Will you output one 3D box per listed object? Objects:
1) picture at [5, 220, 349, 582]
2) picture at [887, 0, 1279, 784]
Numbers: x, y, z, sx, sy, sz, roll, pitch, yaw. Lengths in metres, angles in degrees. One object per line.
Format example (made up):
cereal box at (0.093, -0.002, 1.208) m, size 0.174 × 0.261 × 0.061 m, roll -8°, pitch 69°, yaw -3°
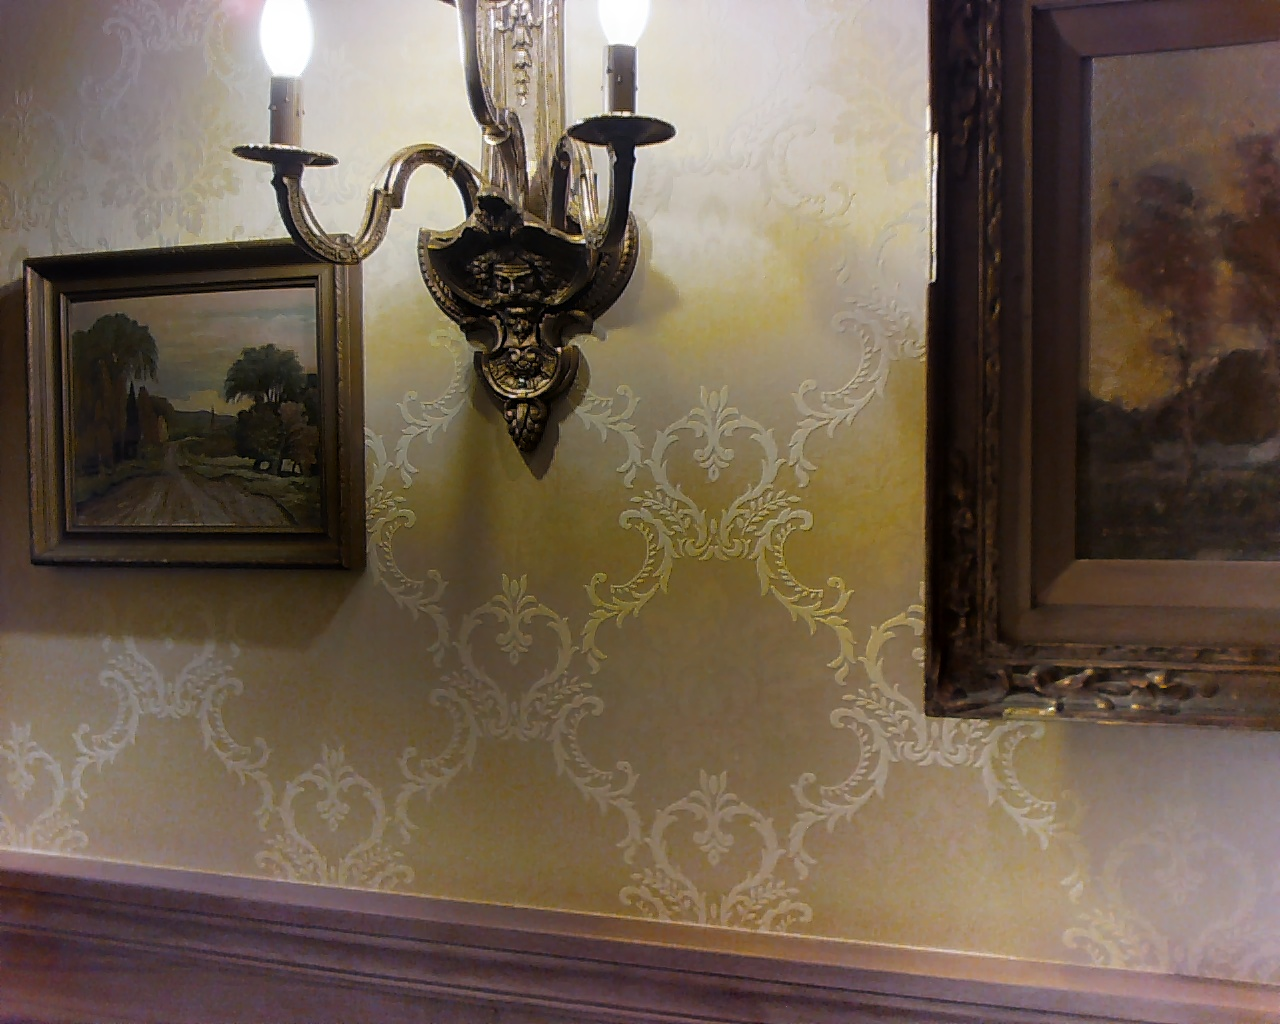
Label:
picture at (-0.440, -0.100, 1.010) m, size 0.350 × 0.320 × 0.030 m, roll 1°, pitch 0°, yaw 15°
picture at (0.570, -0.150, 0.720) m, size 0.780 × 0.670 × 0.060 m, roll 1°, pitch 0°, yaw 15°
